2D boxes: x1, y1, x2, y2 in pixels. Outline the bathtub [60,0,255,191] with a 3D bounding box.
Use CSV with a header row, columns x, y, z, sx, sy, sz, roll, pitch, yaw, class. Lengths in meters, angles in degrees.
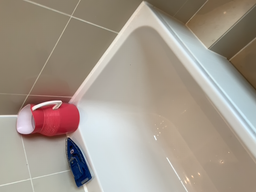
x,y,z,sx,sy,sz,roll,pitch,yaw,class
0.420,0.560,0.730,0.700,0.570,1.700,-47,58,30,bathtub
